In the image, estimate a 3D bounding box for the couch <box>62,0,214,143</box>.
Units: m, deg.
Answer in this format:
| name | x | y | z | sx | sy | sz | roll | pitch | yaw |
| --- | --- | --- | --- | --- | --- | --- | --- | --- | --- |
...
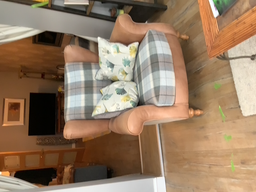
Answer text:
| name | x | y | z | sx | sy | sz | roll | pitch | yaw |
| --- | --- | --- | --- | --- | --- | --- | --- | --- | --- |
| couch | -0.030 | -0.140 | 1.900 | 0.940 | 0.960 | 0.980 | 148 | 121 | -61 |
